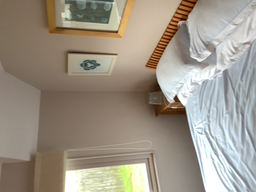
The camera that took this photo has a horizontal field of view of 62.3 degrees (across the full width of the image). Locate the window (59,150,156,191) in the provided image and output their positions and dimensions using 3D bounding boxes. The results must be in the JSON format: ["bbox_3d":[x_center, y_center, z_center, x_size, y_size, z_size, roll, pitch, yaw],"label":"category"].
[{"bbox_3d":[-0.190,1.170,2.240,0.140,1.020,1.090,121,145,-60],"label":"window"}]

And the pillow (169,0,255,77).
[{"bbox_3d":[0.610,-0.530,1.320,0.770,0.310,0.510,123,144,-61],"label":"pillow"}]

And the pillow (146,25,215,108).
[{"bbox_3d":[0.430,-0.230,1.980,0.700,0.250,0.430,120,146,-59],"label":"pillow"}]
